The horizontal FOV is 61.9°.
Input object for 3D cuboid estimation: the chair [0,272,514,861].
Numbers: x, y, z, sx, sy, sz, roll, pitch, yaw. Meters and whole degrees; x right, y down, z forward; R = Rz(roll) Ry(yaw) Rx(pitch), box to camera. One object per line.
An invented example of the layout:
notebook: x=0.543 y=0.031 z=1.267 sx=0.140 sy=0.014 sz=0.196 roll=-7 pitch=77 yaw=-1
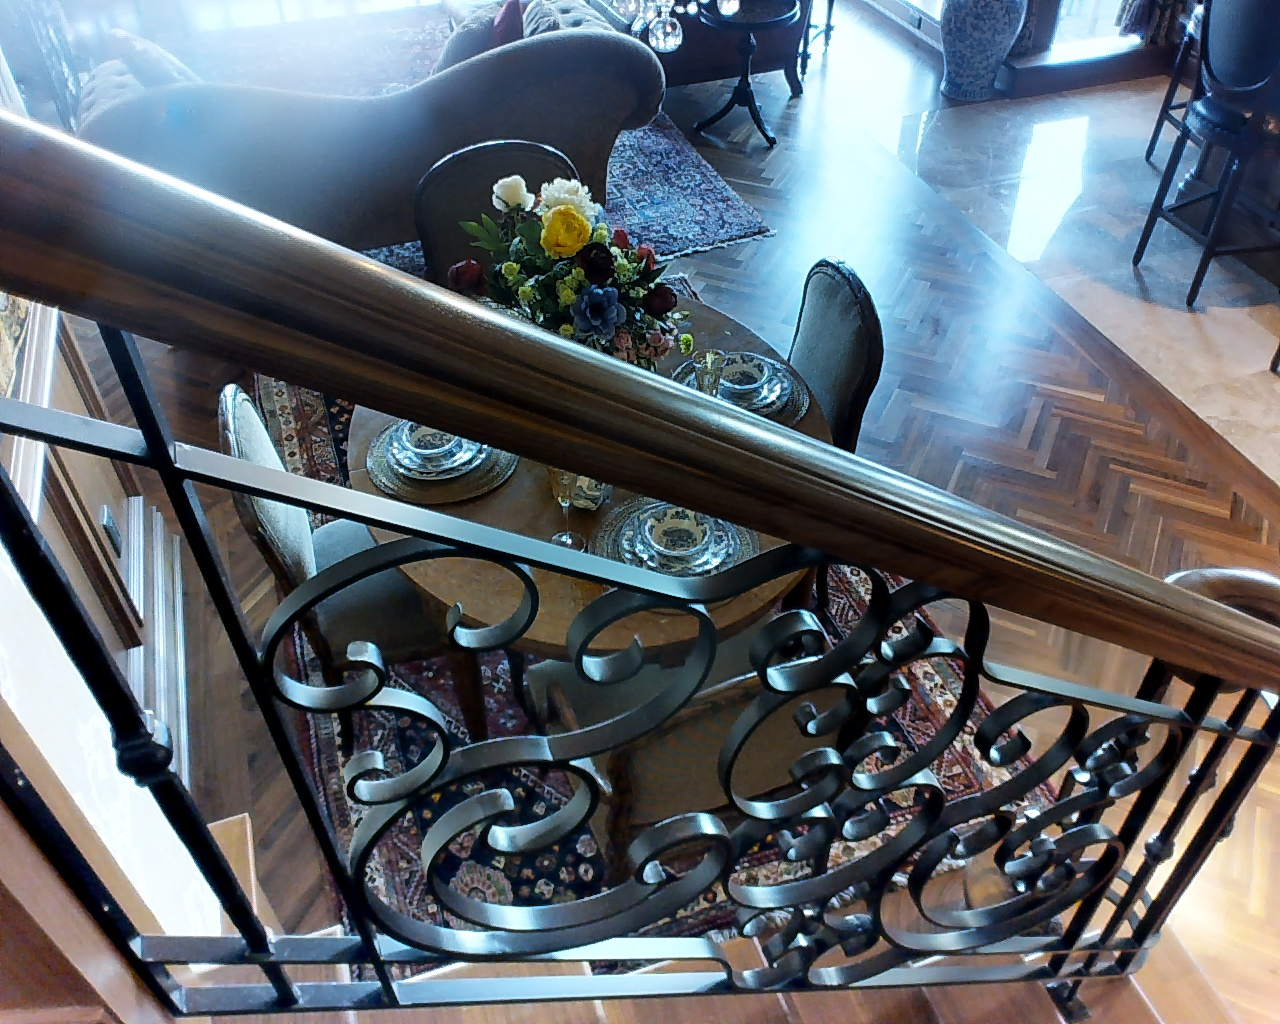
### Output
chair: x=-0.670 y=0.140 z=2.250 sx=0.660 sy=1.030 sz=0.710 roll=-1 pitch=43 yaw=0
